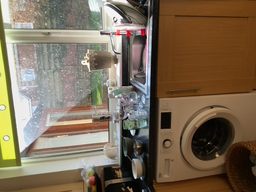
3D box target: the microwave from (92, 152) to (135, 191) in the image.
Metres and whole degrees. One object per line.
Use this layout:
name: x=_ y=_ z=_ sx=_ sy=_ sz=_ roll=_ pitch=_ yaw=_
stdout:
microwave: x=-0.140 y=0.800 z=1.870 sx=0.310 sy=0.320 sz=0.480 roll=-135 pitch=45 yaw=-71
